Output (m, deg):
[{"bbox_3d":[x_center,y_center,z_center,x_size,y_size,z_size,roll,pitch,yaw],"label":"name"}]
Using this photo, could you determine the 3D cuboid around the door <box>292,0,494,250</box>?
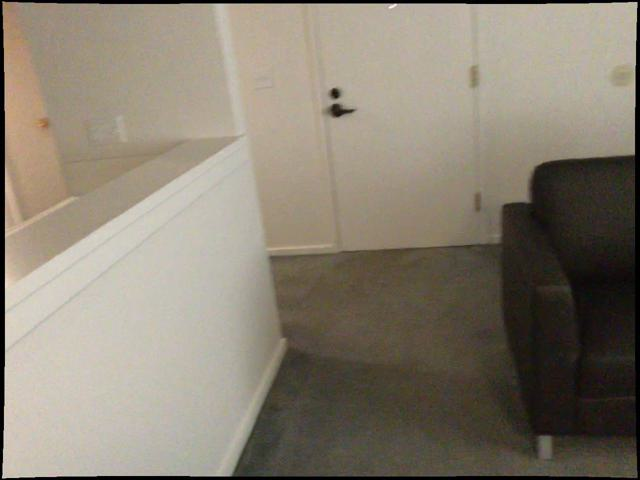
[{"bbox_3d":[0.419,-1.133,3.400,1.067,2.505,0.120,-4,23,14],"label":"door"}]
